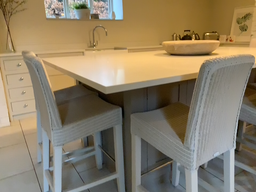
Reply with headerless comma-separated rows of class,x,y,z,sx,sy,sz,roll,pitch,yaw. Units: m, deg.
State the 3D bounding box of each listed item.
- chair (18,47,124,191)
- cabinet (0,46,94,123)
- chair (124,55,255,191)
chair,-0.350,0.220,1.400,0.490,1.020,0.390,-11,19,-29
cabinet,-1.260,-0.260,3.290,1.210,0.910,0.680,-11,19,-30
chair,0.330,0.290,1.190,0.470,0.960,0.510,-13,20,-34
